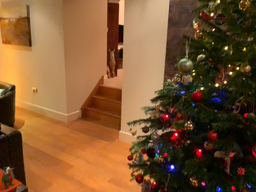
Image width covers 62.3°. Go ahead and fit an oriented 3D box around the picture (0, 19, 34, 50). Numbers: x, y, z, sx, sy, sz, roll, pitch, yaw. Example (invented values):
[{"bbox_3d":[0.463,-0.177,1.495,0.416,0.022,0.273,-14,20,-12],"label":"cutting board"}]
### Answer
[{"bbox_3d":[-2.340,-1.280,4.370,1.110,0.570,0.070,11,17,31],"label":"picture"}]
